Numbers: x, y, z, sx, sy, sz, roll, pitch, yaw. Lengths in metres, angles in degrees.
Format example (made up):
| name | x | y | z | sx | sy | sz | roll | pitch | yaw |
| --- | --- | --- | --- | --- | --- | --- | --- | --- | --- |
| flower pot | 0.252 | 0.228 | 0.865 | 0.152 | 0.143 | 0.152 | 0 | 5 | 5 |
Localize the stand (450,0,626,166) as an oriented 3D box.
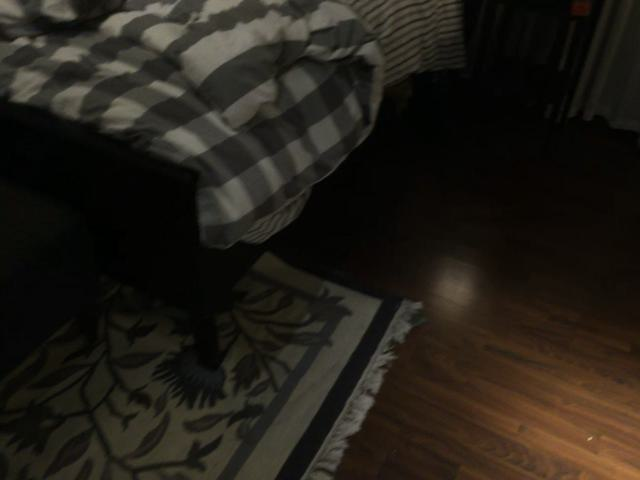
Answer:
| name | x | y | z | sx | sy | sz | roll | pitch | yaw |
| --- | --- | --- | --- | --- | --- | --- | --- | --- | --- |
| stand | 0.890 | -0.810 | 2.290 | 0.490 | 0.760 | 0.550 | 18 | 44 | 20 |
